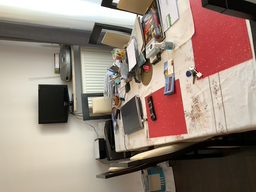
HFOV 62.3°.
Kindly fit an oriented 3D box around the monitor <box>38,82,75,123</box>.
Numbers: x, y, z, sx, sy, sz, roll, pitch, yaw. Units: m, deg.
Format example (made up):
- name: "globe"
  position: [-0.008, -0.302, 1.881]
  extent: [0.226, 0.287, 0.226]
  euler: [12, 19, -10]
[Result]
- name: "monitor"
  position: [-0.890, 0.080, 2.660]
  extent: [0.100, 0.420, 0.490]
  euler: [172, 96, -69]
